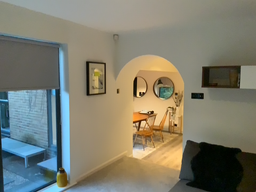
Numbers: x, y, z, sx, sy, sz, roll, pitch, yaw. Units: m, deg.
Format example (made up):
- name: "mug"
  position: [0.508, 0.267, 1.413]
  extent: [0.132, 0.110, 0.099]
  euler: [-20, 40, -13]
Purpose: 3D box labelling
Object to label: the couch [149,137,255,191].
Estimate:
- name: "couch"
  position: [0.890, 1.030, 2.430]
  extent: [0.860, 0.750, 1.110]
  euler: [5, 6, 35]
